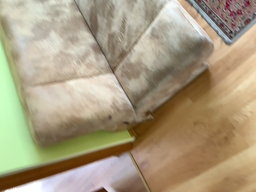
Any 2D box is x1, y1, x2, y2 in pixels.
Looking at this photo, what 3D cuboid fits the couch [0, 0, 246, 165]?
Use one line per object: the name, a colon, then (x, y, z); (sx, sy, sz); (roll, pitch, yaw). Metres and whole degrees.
couch: (-0.410, -0.800, 1.480); (0.960, 0.860, 2.080); (-45, 63, 33)
